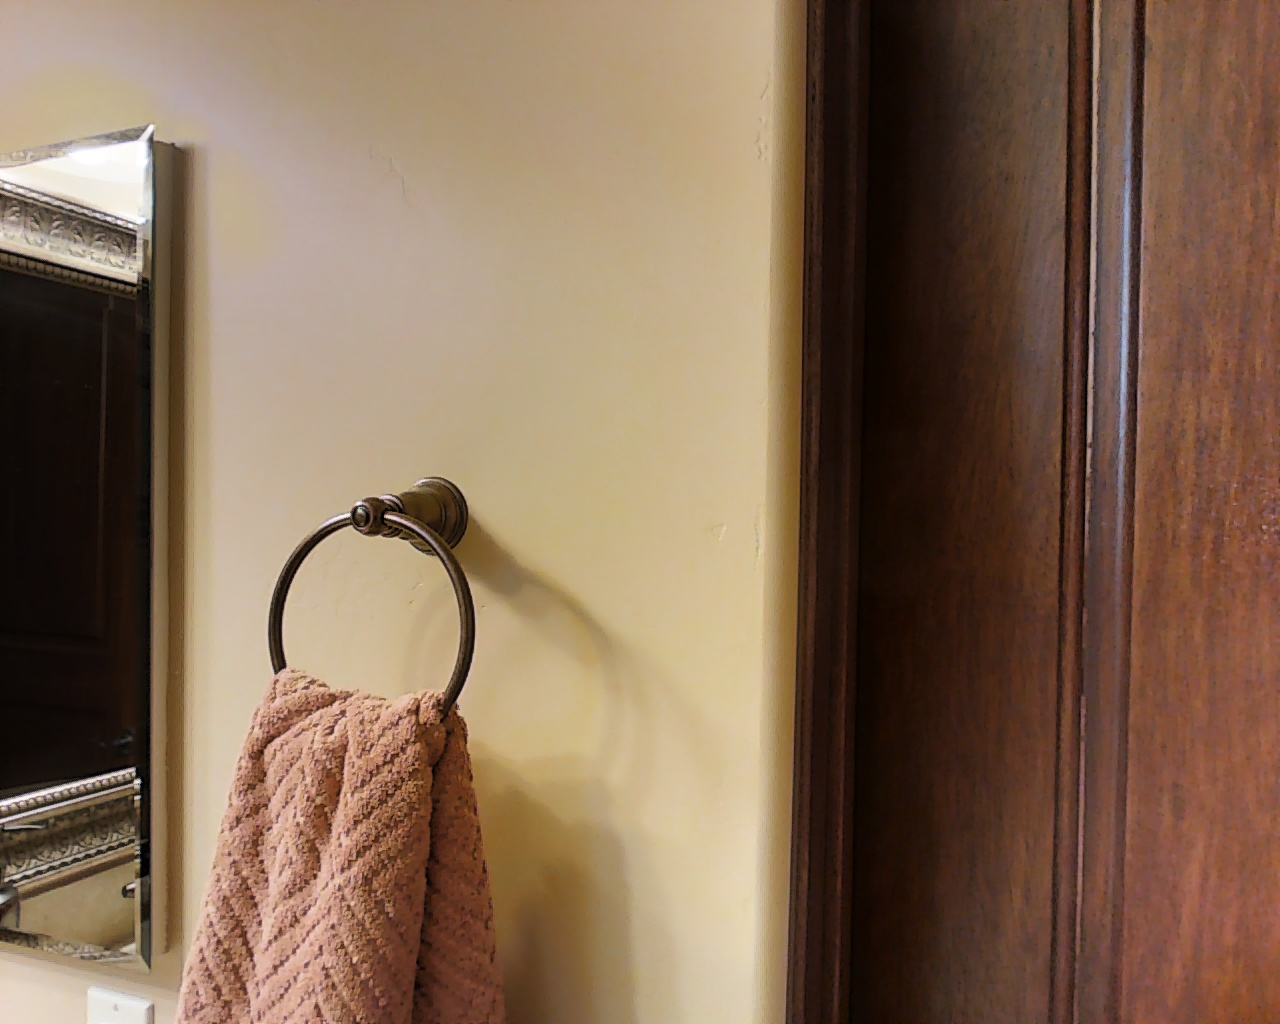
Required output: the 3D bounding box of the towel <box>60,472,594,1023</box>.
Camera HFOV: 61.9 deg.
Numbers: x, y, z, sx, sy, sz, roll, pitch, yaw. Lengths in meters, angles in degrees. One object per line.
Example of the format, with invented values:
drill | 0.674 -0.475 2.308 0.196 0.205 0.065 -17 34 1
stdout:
towel | -0.190 0.250 0.670 0.250 0.540 0.190 2 1 23
